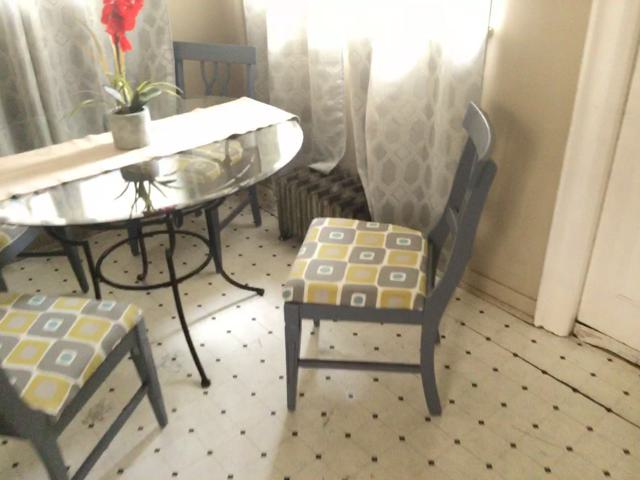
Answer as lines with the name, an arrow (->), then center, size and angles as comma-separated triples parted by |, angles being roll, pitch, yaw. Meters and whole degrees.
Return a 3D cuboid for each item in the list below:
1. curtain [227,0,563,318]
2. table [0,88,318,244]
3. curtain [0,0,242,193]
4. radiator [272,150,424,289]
curtain -> 0.160, -0.960, 2.180 | 0.330, 2.110, 1.460 | -22, 34, -33
table -> -0.570, -0.300, 1.930 | 1.100, 0.160, 0.420 | -22, 34, -33
curtain -> -0.970, -1.260, 2.220 | 1.200, 1.950, 0.280 | -22, 34, -33
radiator -> 0.110, -0.120, 2.620 | 0.330, 0.360, 0.630 | -22, 34, -33
